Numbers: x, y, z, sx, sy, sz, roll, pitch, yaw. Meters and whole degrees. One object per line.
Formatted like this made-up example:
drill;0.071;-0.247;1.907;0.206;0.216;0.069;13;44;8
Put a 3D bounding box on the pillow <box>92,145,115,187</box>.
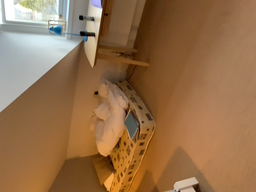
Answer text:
pillow;-0.430;1.180;3.610;0.540;0.180;0.400;57;141;45
